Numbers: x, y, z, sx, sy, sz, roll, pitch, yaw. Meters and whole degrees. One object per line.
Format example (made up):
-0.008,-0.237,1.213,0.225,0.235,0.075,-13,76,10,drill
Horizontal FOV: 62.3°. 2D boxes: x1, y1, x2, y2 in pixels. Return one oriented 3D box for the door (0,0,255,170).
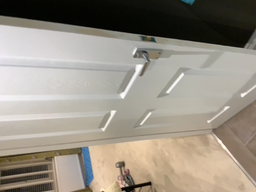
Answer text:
-0.160,0.060,1.020,1.040,2.090,0.140,-57,41,48,door
